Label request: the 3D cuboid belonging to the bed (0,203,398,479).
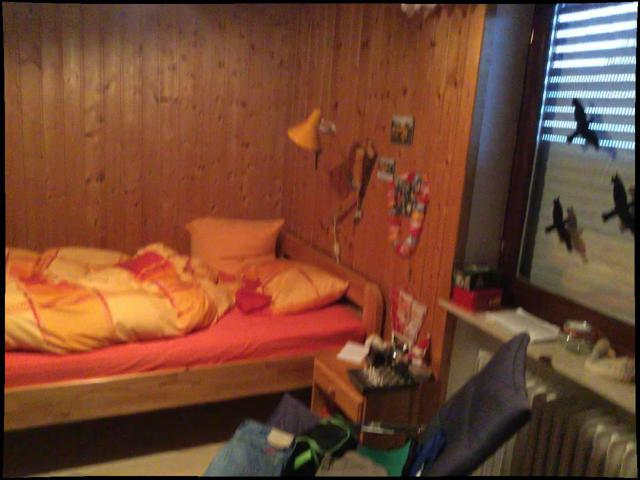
[{"bbox_3d":[-0.989,0.360,3.030,2.258,0.801,1.510,-2,15,-23],"label":"bed"}]
